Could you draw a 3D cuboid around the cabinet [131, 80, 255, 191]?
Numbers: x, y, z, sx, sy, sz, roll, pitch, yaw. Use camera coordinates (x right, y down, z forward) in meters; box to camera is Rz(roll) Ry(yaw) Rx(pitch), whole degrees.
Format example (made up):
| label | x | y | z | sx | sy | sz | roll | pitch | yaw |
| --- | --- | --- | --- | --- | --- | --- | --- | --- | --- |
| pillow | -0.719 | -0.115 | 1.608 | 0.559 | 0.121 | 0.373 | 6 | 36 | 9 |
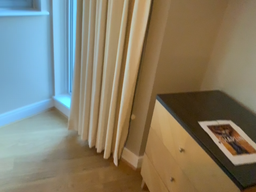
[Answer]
| label | x | y | z | sx | sy | sz | roll | pitch | yaw |
| --- | --- | --- | --- | --- | --- | --- | --- | --- | --- |
| cabinet | 0.480 | 0.470 | 1.420 | 0.520 | 0.850 | 0.880 | -4 | 30 | -22 |
